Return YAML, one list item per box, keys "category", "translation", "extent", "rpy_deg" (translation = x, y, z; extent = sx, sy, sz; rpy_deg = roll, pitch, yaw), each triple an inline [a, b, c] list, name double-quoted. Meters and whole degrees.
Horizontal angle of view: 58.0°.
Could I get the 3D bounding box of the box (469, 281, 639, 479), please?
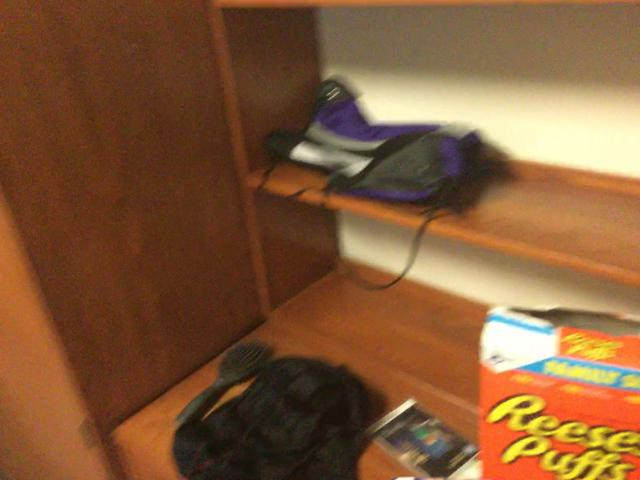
- category: "box"
  translation: [0.290, 0.230, 0.690]
  extent: [0.200, 0.320, 0.130]
  rpy_deg: [6, 32, 18]
